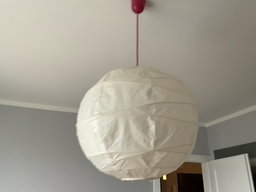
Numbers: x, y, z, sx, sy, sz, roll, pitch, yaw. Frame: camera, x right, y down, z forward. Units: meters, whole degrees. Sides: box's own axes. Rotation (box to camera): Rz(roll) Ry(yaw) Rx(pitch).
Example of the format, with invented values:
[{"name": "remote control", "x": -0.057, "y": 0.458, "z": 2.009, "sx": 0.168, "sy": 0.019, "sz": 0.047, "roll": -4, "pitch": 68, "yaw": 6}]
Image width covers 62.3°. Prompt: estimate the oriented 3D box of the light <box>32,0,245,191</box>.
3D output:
[{"name": "light", "x": 0.010, "y": -0.100, "z": 0.890, "sx": 0.510, "sy": 0.550, "sz": 0.900, "roll": 16, "pitch": 64, "yaw": -21}]
